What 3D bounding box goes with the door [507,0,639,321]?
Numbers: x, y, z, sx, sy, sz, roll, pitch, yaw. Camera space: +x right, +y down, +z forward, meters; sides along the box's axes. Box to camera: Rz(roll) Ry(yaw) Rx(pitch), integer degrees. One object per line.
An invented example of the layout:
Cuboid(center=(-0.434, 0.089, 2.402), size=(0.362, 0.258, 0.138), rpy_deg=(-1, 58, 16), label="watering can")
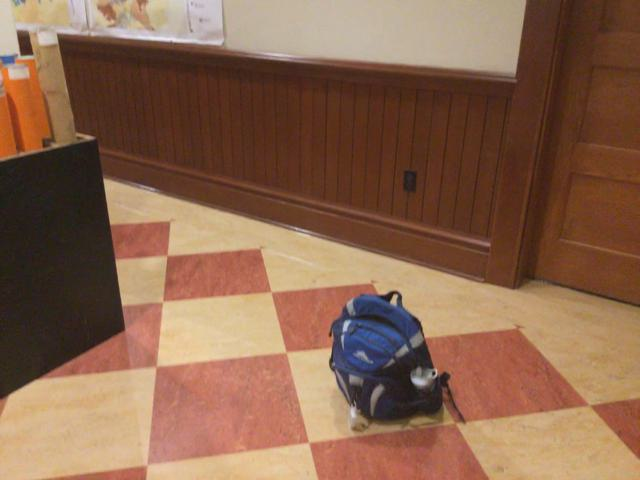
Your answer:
Cuboid(center=(1.280, -0.710, 2.150), size=(0.870, 2.100, 0.300), rpy_deg=(14, 27, 33), label="door")
